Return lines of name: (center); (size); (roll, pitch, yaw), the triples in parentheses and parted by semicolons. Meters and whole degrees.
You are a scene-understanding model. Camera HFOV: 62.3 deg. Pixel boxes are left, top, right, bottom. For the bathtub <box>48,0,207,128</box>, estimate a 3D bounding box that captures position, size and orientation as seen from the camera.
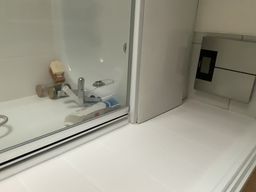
bathtub: (-0.010, -0.790, 1.090); (0.720, 0.530, 1.670); (19, 115, 39)
